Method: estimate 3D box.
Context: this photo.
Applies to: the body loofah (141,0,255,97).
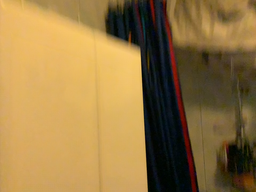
[{"bbox_3d":[0.530,-0.320,1.170,0.740,0.600,0.500,-5,-3,33],"label":"body loofah"}]
